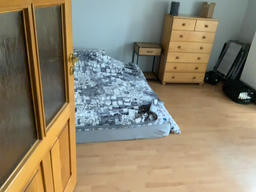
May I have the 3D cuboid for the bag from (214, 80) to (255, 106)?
[{"bbox_3d":[1.800,-0.070,3.540,0.400,0.190,0.590,-1,27,-12],"label":"bag"}]
